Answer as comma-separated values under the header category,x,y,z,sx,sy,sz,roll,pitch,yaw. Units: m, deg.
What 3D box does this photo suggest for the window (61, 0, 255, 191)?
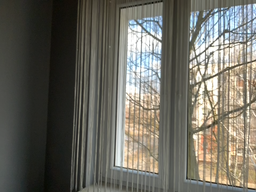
category,x,y,z,sx,sy,sz,roll,pitch,yaw
window,0.400,-0.160,1.140,1.620,1.810,0.200,2,-2,22
